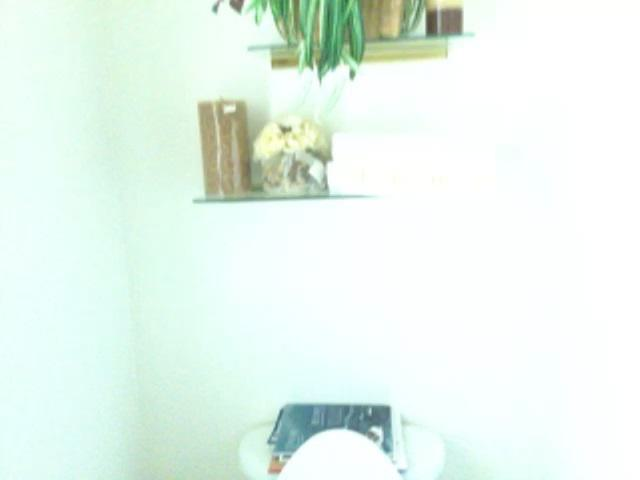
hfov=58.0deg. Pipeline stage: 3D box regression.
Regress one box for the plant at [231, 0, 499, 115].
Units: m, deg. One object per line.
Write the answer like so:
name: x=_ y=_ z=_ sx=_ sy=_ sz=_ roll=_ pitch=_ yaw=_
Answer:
plant: x=0.080 y=-0.460 z=1.120 sx=0.450 sy=0.380 sz=0.270 roll=-4 pitch=11 yaw=6

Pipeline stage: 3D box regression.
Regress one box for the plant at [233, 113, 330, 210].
plant: x=-0.080 y=-0.180 z=1.310 sx=0.180 sy=0.190 sz=0.160 roll=-4 pitch=11 yaw=6
